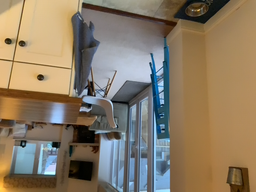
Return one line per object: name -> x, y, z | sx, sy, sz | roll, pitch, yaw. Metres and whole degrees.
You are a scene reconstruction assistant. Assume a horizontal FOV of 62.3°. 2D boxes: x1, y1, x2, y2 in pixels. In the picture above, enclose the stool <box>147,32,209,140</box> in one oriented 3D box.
stool -> 0.500, -0.070, 2.290 | 0.420, 1.030, 0.500 | 6, 166, -16
